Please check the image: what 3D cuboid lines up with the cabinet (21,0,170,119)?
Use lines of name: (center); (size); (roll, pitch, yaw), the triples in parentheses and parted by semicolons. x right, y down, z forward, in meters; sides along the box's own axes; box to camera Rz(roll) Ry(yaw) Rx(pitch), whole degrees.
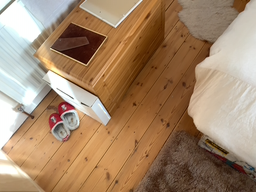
cabinet: (-0.140, -0.380, 1.460); (0.500, 0.520, 0.810); (29, 73, 19)
